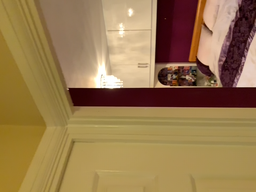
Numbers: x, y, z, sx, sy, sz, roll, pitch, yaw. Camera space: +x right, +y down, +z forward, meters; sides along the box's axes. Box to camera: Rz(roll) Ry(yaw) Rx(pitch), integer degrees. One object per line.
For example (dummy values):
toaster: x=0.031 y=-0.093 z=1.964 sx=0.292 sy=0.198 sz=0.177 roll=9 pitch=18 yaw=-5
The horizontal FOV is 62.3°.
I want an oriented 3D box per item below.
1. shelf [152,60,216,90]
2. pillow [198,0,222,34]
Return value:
shelf: x=0.990 y=-0.390 z=3.920 sx=0.410 sy=1.070 sz=0.380 roll=-85 pitch=-7 yaw=-46
pillow: x=1.130 y=-1.190 z=2.950 sx=0.380 sy=0.160 sz=0.500 roll=-85 pitch=-7 yaw=-47
